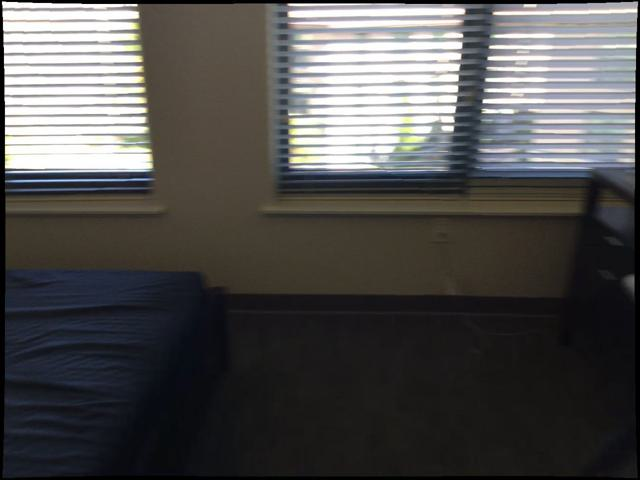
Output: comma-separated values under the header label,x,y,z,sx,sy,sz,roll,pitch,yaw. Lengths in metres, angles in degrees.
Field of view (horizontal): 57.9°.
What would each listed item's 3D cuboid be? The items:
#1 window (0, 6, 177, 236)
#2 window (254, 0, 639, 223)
label,x,y,z,sx,sy,sz,roll,pitch,yaw
window,-1.169,-0.501,2.530,0.899,0.931,0.260,-1,25,2
window,0.679,-0.681,2.380,1.808,1.101,0.420,-1,25,2
